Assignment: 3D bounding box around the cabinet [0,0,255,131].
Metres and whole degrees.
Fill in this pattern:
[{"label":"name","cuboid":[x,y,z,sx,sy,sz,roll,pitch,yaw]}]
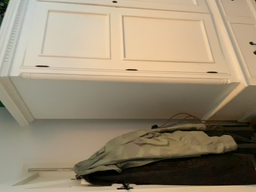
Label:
[{"label":"cabinet","cuboid":[0.150,-0.470,1.860,0.800,2.010,1.330,106,163,-59]}]
